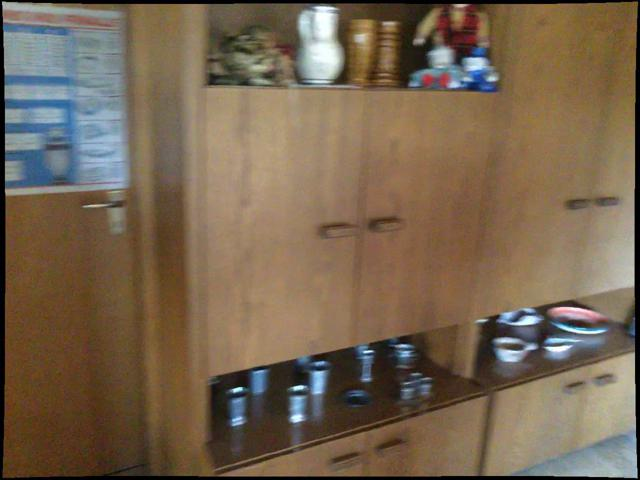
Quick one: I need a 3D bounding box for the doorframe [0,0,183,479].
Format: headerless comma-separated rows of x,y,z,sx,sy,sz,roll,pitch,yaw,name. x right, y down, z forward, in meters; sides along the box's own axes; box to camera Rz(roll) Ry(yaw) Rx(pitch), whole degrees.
-0.929,-0.010,1.720,0.899,1.872,0.330,-7,21,-27,doorframe

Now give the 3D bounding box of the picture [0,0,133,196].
-0.969,-0.410,1.680,0.769,0.550,0.140,-7,21,-27,picture
